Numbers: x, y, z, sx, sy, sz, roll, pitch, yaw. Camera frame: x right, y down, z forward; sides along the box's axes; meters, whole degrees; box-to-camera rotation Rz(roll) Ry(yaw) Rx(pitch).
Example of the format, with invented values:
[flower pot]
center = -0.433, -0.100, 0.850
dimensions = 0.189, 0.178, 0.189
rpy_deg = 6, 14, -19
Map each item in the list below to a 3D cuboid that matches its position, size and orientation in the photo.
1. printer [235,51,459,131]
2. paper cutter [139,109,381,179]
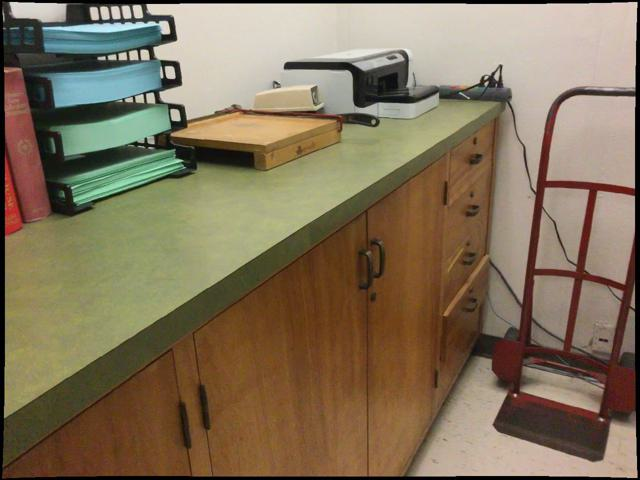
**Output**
[printer]
center = 0.120, -0.541, 2.000
dimensions = 0.539, 0.170, 0.630
rpy_deg = 10, 25, 27
[paper cutter]
center = -0.140, -0.261, 1.470
dimensions = 0.469, 0.060, 0.400
rpy_deg = 10, 25, 27
